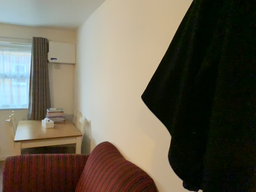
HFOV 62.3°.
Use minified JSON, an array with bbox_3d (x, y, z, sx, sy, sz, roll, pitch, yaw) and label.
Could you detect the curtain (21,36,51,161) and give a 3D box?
[{"bbox_3d":[-1.620,0.060,3.760,0.480,2.130,0.140,0,5,-24],"label":"curtain"}]
